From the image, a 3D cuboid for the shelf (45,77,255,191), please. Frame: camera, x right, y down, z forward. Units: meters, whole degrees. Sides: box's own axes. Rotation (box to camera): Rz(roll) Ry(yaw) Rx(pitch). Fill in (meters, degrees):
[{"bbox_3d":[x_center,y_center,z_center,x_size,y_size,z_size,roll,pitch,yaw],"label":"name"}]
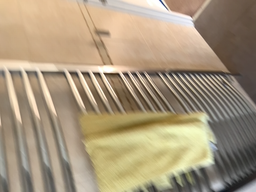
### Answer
[{"bbox_3d":[0.330,0.140,0.890,0.150,1.190,0.450,-54,51,42],"label":"shelf"}]
